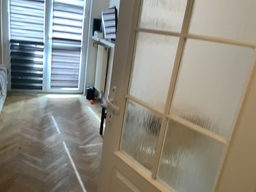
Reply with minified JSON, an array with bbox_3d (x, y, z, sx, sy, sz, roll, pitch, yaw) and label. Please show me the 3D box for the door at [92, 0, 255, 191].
[{"bbox_3d":[0.170,0.250,0.980,0.070,2.040,0.870,-9,25,-44],"label":"door"}]
